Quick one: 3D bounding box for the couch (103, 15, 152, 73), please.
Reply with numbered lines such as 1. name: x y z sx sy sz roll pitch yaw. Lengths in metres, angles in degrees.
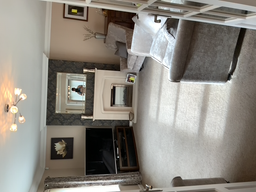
1. couch: -0.060 -1.200 5.030 0.840 0.910 0.920 115 153 -57
